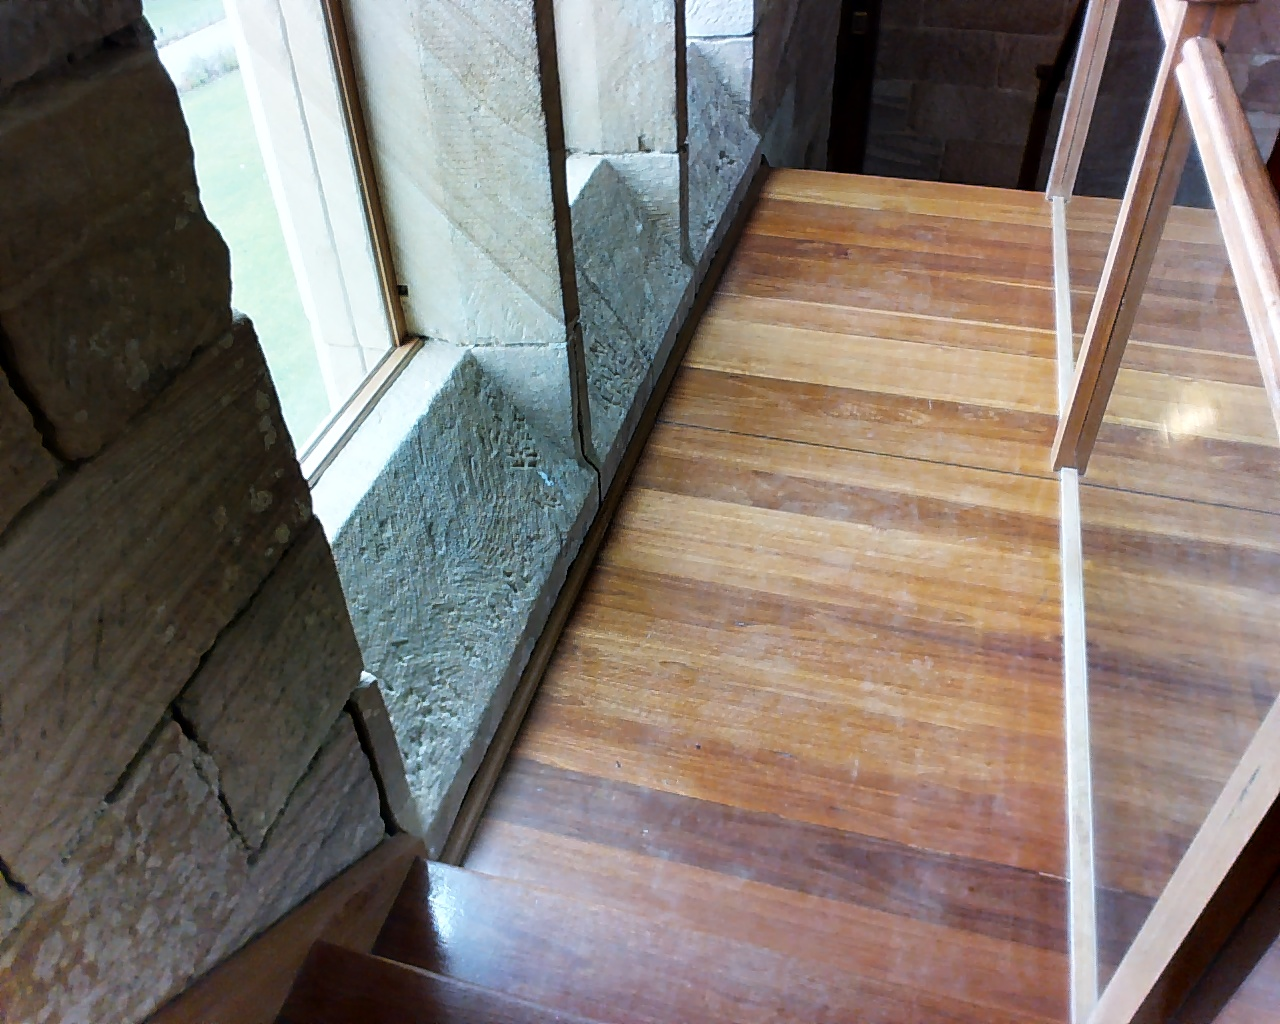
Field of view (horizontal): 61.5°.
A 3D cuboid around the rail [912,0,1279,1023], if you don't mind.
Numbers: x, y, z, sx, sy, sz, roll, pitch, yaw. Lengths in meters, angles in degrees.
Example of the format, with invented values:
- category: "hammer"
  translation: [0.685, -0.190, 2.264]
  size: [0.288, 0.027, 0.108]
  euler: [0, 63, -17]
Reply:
- category: "rail"
  translation: [1.170, -0.480, 2.730]
  size: [0.230, 3.881, 6.421]
  euler: [9, 42, 11]
